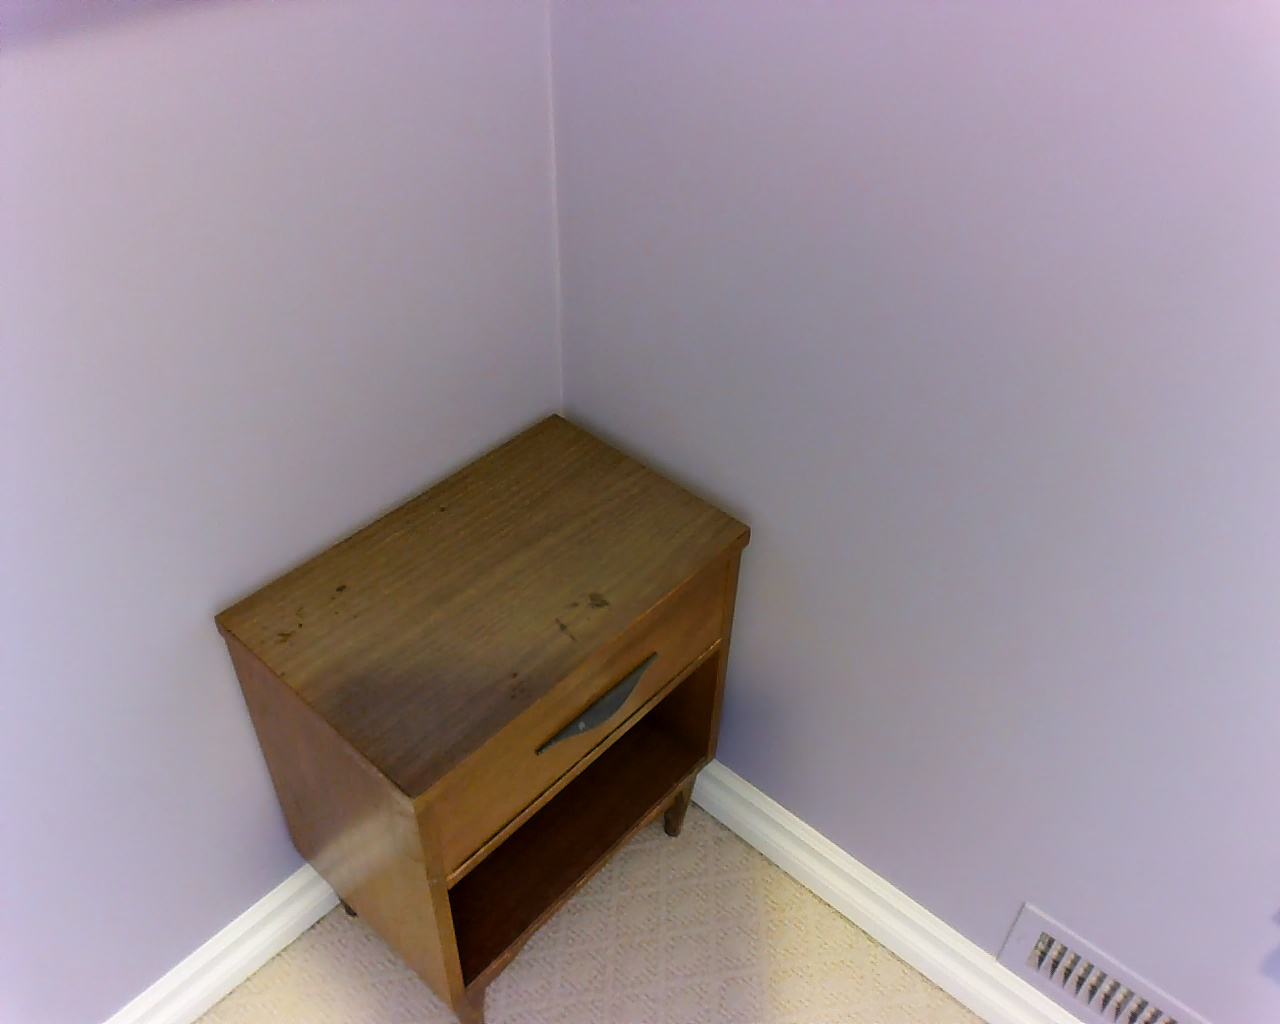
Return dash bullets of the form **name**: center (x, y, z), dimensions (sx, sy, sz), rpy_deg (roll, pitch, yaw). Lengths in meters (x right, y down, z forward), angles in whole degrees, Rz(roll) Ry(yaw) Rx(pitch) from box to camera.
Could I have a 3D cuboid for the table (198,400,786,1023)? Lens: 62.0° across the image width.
- **table**: center (-0.160, 0.290, 1.390), dimensions (0.370, 0.610, 0.540), rpy_deg (33, 50, 30)
